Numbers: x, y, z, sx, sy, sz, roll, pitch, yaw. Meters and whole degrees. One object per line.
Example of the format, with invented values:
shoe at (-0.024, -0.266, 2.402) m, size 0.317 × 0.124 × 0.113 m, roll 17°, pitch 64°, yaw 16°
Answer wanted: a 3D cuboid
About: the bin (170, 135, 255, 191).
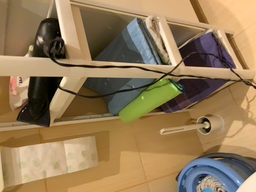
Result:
bin at (0.350, 0.350, 0.750) m, size 0.240 × 0.290 × 0.300 m, roll 41°, pitch 125°, yaw 48°
